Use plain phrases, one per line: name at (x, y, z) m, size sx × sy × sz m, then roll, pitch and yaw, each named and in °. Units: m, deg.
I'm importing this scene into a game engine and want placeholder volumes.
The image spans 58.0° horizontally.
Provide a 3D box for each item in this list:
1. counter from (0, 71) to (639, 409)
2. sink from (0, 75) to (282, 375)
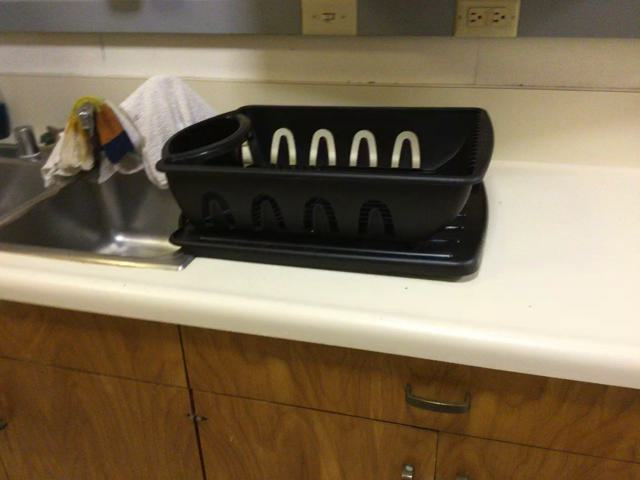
counter at (-0.190, -0.120, 1.050) m, size 1.680 × 0.240 × 0.670 m, roll 5°, pitch 27°, yaw 16°
sink at (-0.540, -0.100, 1.190) m, size 0.750 × 0.360 × 0.570 m, roll 5°, pitch 27°, yaw 16°
